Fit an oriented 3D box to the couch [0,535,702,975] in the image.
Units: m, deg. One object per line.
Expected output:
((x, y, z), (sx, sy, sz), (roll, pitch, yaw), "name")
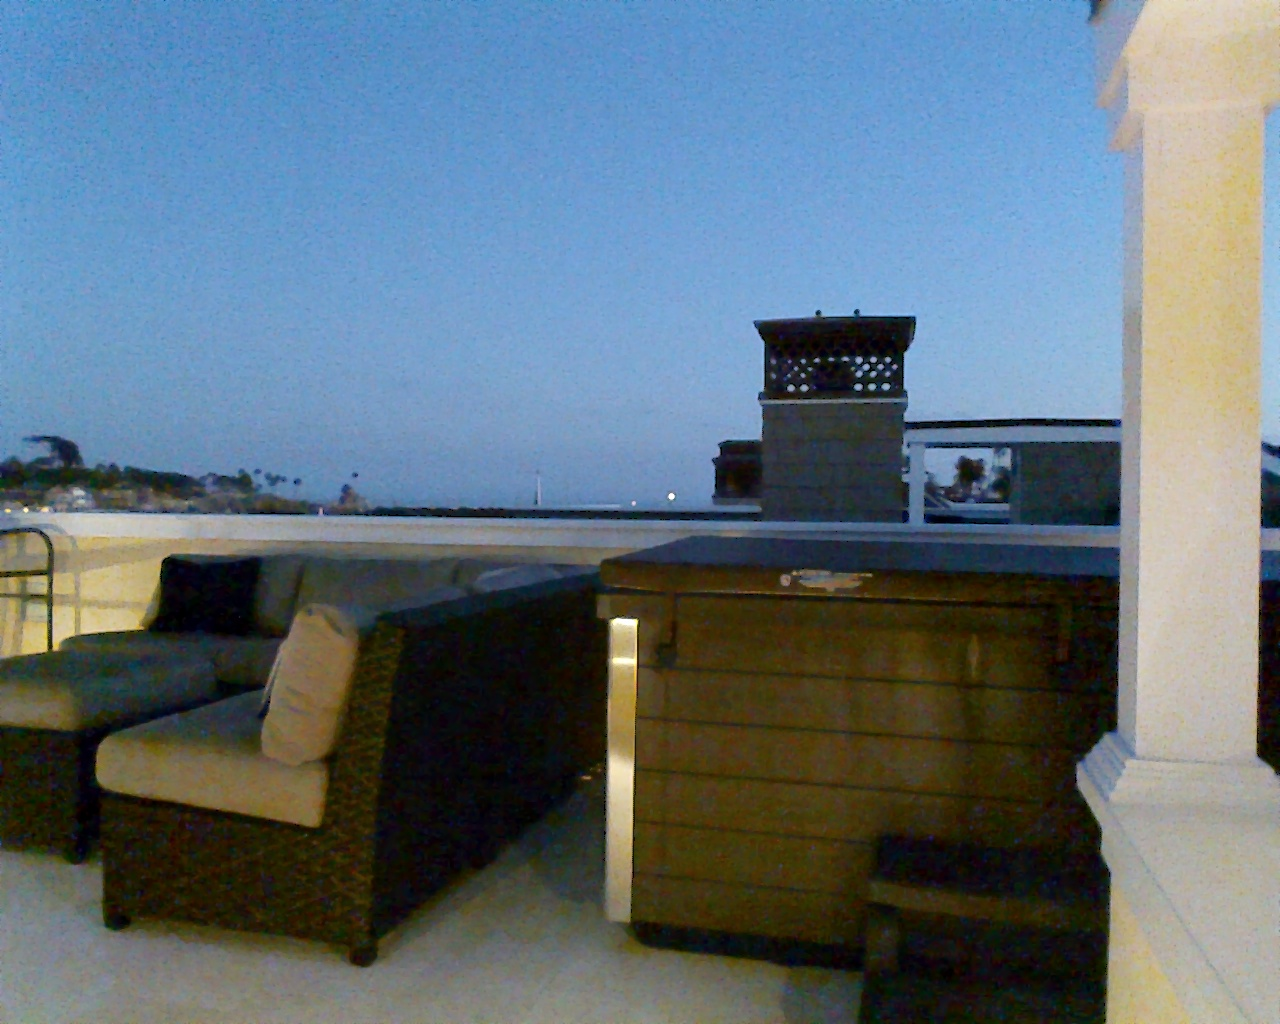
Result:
((-1.349, 0.590, 4.010), (2.679, 0.930, 2.510), (0, 0, 16), "couch")

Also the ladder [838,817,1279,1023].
((0.860, 0.920, 2.050), (0.870, 0.410, 0.710), (0, 0, 17), "ladder")
